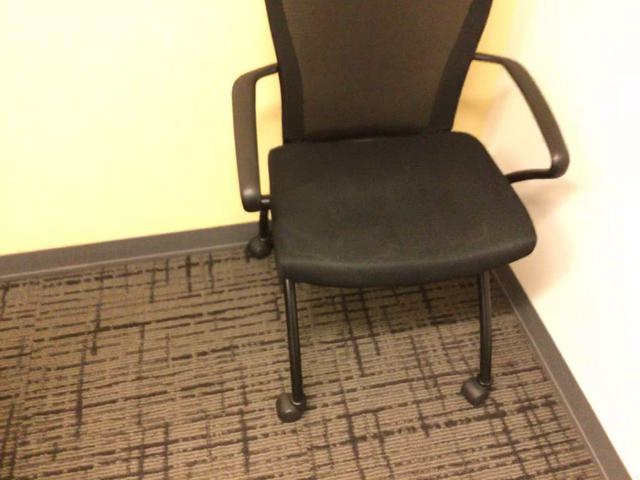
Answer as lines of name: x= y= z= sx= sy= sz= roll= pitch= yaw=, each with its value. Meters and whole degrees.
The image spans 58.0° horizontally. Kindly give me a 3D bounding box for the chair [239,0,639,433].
chair: x=0.130 y=-0.130 z=1.180 sx=0.490 sy=0.950 sz=0.530 roll=-8 pitch=45 yaw=-11
